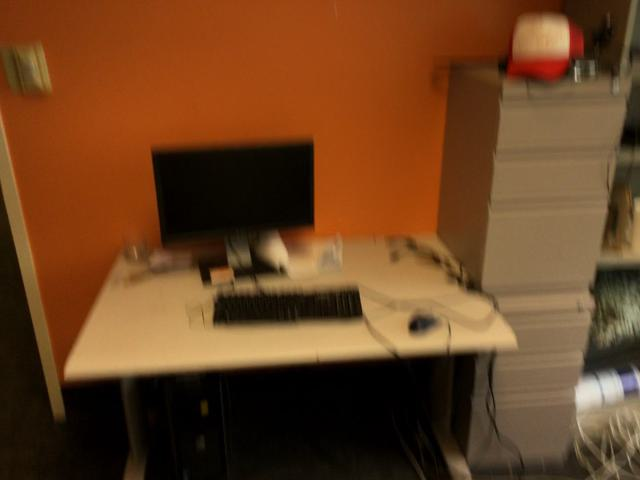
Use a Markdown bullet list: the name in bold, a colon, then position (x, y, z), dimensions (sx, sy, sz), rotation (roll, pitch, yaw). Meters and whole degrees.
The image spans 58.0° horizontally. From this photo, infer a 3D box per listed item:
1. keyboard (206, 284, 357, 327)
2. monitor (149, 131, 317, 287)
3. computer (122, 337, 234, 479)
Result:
- **keyboard**: position (-0.110, 0.190, 1.690), dimensions (0.420, 0.040, 0.150), rotation (-2, 22, -3)
- **monitor**: position (-0.270, -0.110, 1.890), dimensions (0.480, 0.420, 0.250), rotation (-4, 22, -8)
- **computer**: position (-0.480, 0.600, 2.040), dimensions (0.300, 0.400, 0.290), rotation (-2, 22, -3)
